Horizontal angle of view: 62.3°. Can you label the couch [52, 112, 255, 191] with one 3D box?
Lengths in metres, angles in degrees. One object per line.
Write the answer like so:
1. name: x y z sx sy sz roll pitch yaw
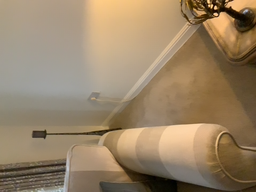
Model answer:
1. couch: 0.190 0.700 1.190 1.090 0.930 1.110 -14 74 55
